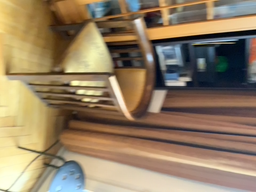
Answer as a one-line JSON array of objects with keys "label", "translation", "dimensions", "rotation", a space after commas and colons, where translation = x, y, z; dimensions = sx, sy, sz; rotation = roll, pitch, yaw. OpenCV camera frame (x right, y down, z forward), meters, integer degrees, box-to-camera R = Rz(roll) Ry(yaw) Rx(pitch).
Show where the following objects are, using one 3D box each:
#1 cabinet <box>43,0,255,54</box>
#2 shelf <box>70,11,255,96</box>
[{"label": "cabinet", "translation": [0.300, -0.660, 1.480], "dimensions": [0.400, 1.830, 0.450], "rotation": [-60, 142, -43]}, {"label": "shelf", "translation": [0.520, -0.310, 1.710], "dimensions": [0.360, 2.040, 0.480], "rotation": [-60, 142, -43]}]
